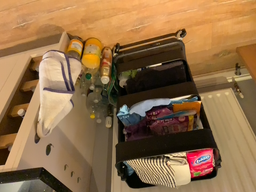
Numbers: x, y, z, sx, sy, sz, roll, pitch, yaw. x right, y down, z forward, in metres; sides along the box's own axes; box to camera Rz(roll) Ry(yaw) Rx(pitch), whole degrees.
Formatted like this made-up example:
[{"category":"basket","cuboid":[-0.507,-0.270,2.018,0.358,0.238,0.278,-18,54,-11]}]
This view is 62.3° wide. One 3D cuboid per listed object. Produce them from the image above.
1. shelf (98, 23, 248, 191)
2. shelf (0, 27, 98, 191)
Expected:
[{"category":"shelf","cuboid":[0.180,0.040,1.190,0.540,0.830,0.400,-11,136,8]},{"category":"shelf","cuboid":[-0.390,0.140,1.180,0.190,0.910,0.610,-11,136,9]}]
